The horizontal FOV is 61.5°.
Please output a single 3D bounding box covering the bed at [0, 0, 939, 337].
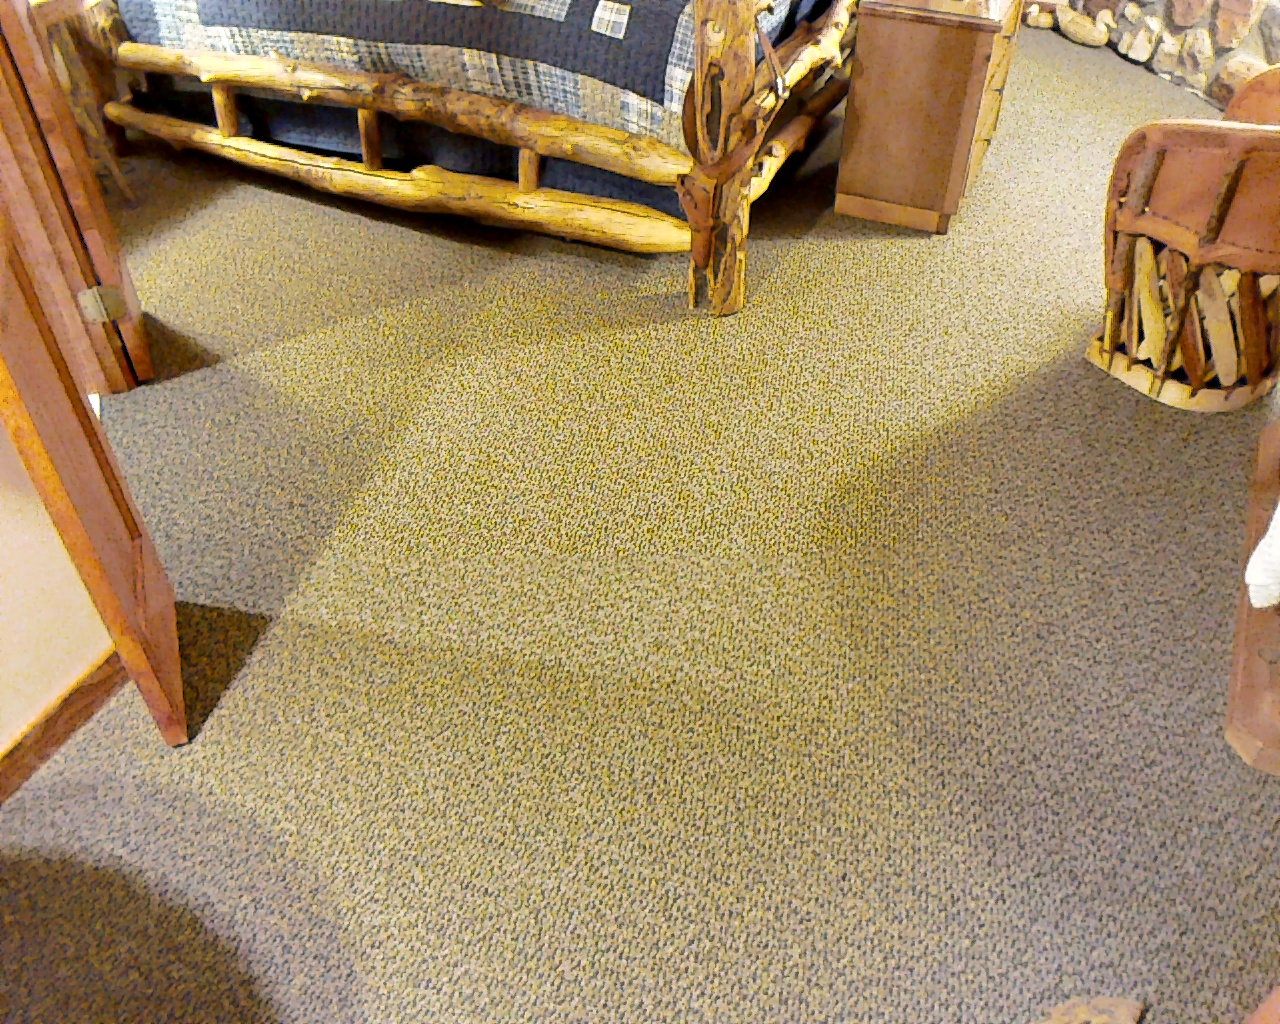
[{"bbox_3d":[-0.440,-1.930,3.420,2.500,1.360,2.010,17,45,17],"label":"bed"}]
